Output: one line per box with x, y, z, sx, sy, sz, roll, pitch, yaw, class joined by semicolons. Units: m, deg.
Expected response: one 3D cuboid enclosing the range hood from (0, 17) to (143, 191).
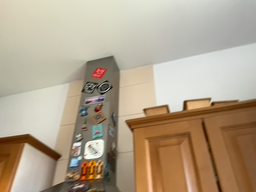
-0.220;0.150;1.140;0.490;1.050;0.480;-9;-37;14;range hood
